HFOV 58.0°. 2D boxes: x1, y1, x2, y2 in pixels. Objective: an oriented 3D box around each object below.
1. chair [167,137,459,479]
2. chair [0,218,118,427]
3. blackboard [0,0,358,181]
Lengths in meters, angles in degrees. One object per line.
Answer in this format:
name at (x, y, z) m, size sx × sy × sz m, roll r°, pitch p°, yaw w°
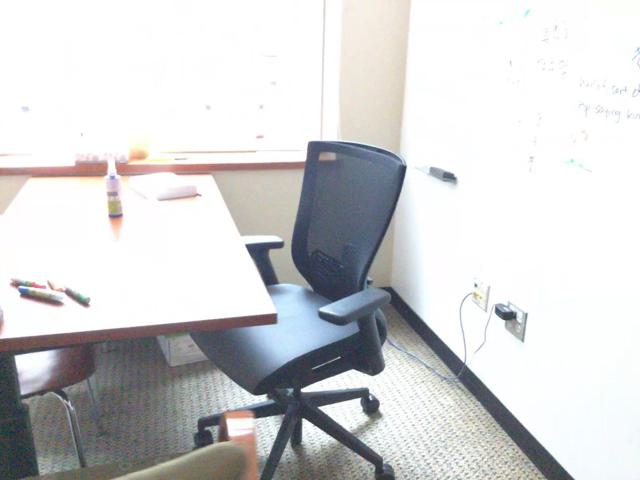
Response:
chair at (-0.090, 0.220, 1.850) m, size 0.660 × 1.000 × 0.720 m, roll -4°, pitch 18°, yaw -20°
chair at (-0.880, 0.210, 1.650) m, size 0.500 × 0.430 × 0.470 m, roll -2°, pitch 17°, yaw -13°
blackboard at (-0.890, -0.730, 2.610) m, size 2.020 × 0.830 × 0.520 m, roll -2°, pitch 17°, yaw -13°
